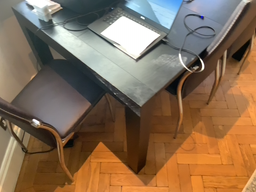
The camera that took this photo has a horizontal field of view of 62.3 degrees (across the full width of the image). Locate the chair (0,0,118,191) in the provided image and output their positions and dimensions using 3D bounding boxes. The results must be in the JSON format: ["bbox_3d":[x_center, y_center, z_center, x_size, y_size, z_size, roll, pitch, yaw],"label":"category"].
[{"bbox_3d":[-0.420,0.000,1.070,0.450,1.010,0.530,27,59,20],"label":"chair"}]

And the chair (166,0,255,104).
[{"bbox_3d":[0.630,-0.490,1.390,0.360,1.000,0.520,-37,61,-23],"label":"chair"}]
